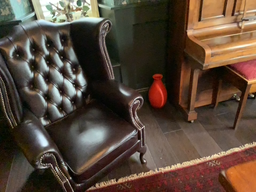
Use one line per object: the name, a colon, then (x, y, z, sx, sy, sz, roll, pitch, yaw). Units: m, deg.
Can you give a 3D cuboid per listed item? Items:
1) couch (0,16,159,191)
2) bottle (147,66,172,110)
couch: (-0.370, 0.100, 1.490, 0.800, 0.980, 0.840, -28, 41, -29)
bottle: (0.320, -0.080, 2.180, 0.220, 0.370, 0.240, -3, 35, 3)
